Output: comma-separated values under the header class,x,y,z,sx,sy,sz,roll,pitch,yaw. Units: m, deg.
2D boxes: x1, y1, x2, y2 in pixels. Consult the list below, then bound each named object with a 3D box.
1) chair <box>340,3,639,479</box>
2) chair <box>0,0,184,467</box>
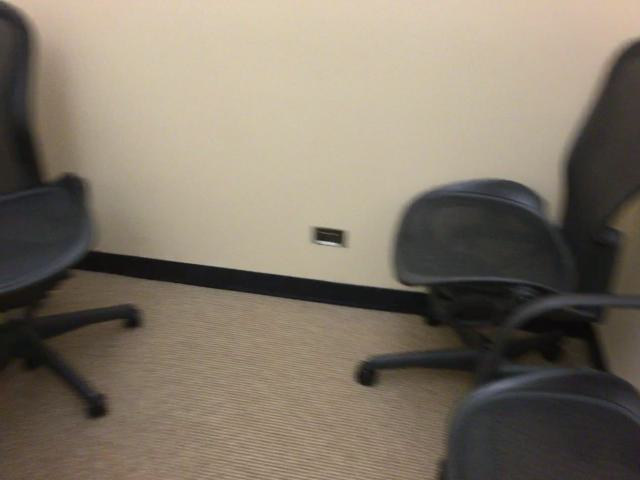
class,x,y,z,sx,sy,sz,roll,pitch,yaw
chair,0.460,0.020,1.490,0.690,1.040,0.600,7,34,9
chair,-0.910,-0.050,1.560,0.710,1.040,0.710,-22,40,-31
